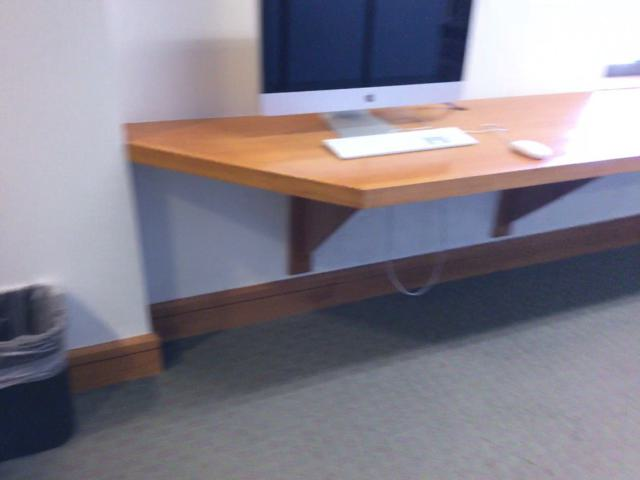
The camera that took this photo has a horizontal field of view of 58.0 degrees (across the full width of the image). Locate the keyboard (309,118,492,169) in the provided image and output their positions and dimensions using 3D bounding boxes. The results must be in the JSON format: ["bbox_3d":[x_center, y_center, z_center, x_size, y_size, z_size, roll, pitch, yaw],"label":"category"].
[{"bbox_3d":[0.220,-0.270,1.580,0.470,0.040,0.170,-11,29,-20],"label":"keyboard"}]
